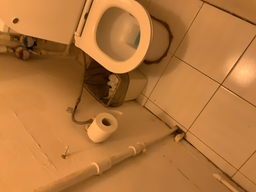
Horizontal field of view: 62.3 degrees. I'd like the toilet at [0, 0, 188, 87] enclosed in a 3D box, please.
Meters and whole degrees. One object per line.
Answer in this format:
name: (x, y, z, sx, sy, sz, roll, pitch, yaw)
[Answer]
toilet: (-0.200, -0.400, 1.130, 0.680, 0.850, 0.360, 39, 114, 26)
